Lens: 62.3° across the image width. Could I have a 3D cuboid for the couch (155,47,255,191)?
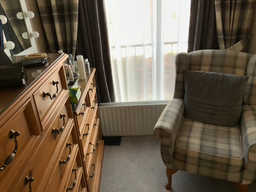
[{"bbox_3d":[0.740,0.180,1.860,0.790,1.000,0.860,7,28,22],"label":"couch"}]
